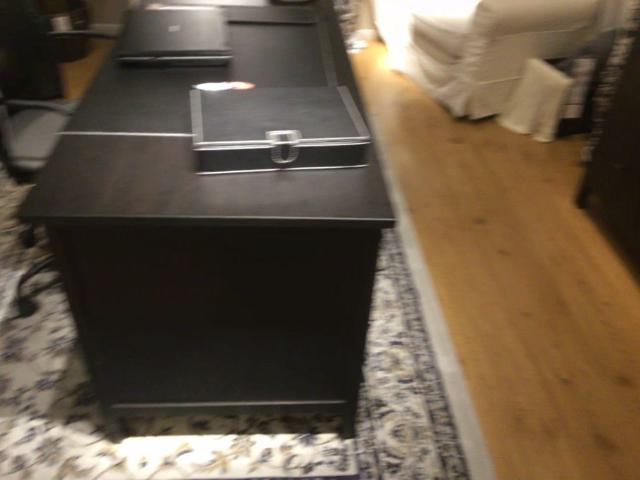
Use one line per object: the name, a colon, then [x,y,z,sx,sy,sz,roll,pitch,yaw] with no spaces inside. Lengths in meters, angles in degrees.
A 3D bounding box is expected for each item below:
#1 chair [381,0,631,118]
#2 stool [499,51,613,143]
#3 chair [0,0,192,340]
chair: [0.900,-1.200,2.790,0.890,0.840,0.700,-16,43,-22]
stool: [1.050,-0.650,2.620,0.320,0.300,0.310,-1,39,-4]
chair: [-0.660,-0.240,1.600,0.460,0.800,0.640,-1,39,-4]
